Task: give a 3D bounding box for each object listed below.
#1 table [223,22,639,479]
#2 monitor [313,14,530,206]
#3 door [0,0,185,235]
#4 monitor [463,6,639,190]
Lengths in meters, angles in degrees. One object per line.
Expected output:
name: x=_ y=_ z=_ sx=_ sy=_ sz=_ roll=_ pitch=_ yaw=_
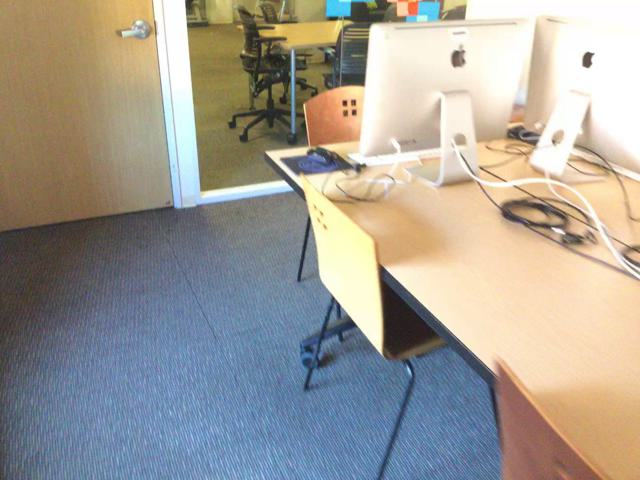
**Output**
table: x=1.140 y=0.700 z=0.410 sx=1.200 sy=1.060 sz=4.430 roll=-11 pitch=30 yaw=-21
monitor: x=0.270 y=-0.380 z=1.630 sx=0.540 sy=0.440 sz=0.210 roll=-11 pitch=30 yaw=-21
door: x=-1.140 y=-0.720 z=2.750 sx=0.800 sy=1.270 sz=0.280 roll=-11 pitch=30 yaw=-21
monitor: x=0.640 y=-0.430 z=1.660 sx=0.110 sy=0.400 sz=0.530 roll=-11 pitch=30 yaw=-21
